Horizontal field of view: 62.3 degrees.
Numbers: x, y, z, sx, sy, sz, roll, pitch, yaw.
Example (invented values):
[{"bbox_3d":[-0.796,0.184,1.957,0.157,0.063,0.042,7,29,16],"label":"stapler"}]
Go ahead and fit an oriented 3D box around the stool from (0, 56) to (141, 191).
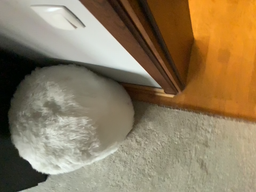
[{"bbox_3d":[-0.250,0.110,0.970,0.450,0.390,0.440,9,84,21],"label":"stool"}]
